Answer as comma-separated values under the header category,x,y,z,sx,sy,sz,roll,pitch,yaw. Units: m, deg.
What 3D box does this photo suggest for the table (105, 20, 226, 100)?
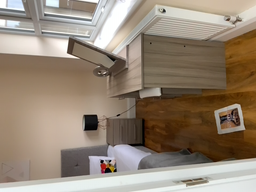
category,x,y,z,sx,sy,sz,roll,pitch,yaw
table,0.260,-0.250,2.160,1.110,0.750,0.490,163,106,-70

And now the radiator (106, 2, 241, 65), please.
category,x,y,z,sx,sy,sz,roll,pitch,yaw
radiator,0.270,-0.460,1.900,1.160,0.670,0.060,163,106,-70

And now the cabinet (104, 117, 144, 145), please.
category,x,y,z,sx,sy,sz,roll,pitch,yaw
cabinet,-0.080,0.550,3.450,0.440,0.530,0.400,166,104,-70
